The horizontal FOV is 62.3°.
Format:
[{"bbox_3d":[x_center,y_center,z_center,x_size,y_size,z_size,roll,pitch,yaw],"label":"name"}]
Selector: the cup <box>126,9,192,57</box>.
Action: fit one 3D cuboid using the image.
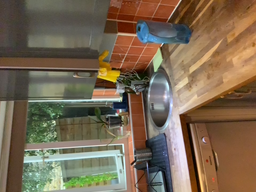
[{"bbox_3d":[0.160,-0.330,1.150,0.170,0.300,0.170,140,128,-71],"label":"cup"}]
